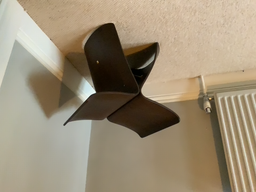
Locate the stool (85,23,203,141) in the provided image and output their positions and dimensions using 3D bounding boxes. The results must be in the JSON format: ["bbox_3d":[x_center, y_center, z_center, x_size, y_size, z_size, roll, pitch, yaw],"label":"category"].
[{"bbox_3d":[0.060,-0.030,1.060,0.420,0.390,0.350,13,151,-25],"label":"stool"}]
